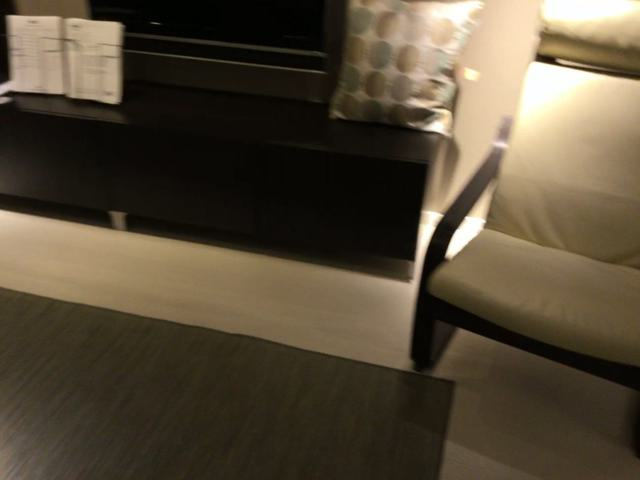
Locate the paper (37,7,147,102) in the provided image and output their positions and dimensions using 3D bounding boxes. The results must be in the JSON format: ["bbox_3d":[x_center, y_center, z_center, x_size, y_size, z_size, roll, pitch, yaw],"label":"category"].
[{"bbox_3d":[-0.830,-0.680,2.140,0.260,0.300,0.130,8,59,9],"label":"paper"}]
